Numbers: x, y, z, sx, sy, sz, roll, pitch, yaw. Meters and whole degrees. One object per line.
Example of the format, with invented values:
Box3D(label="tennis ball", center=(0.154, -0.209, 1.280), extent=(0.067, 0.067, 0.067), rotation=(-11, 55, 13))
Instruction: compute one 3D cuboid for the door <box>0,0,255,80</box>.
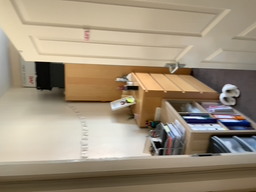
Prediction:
Box3D(label="door", center=(0.300, -0.340, 1.220), extent=(1.000, 2.020, 0.150), rotation=(134, 136, -73))
